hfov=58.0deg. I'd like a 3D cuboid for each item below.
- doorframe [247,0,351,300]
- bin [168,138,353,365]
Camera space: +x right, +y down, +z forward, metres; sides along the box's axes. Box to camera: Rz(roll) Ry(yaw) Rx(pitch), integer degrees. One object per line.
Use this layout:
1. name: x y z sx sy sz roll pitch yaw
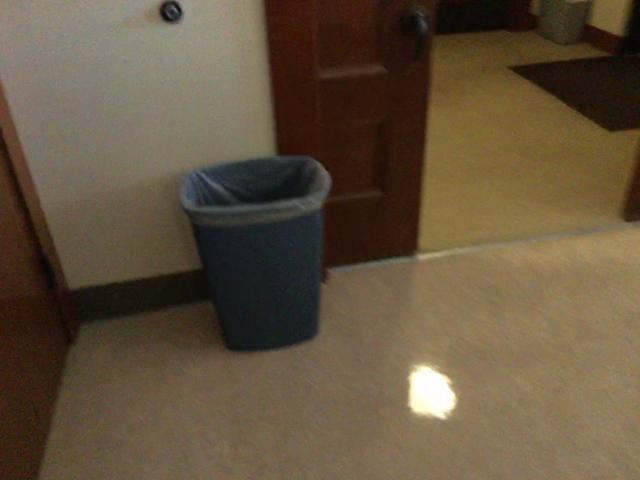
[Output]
1. doorframe: -0.060 -0.370 1.840 0.210 1.220 0.150 -13 31 -13
2. bin: -0.170 0.030 1.820 0.430 0.530 0.370 -11 31 -1
